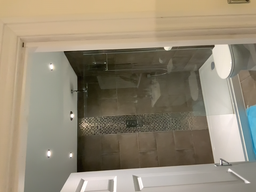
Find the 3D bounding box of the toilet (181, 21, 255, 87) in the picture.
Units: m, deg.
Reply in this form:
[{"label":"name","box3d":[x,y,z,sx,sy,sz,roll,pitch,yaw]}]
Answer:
[{"label":"toilet","box3d":[1.120,-0.500,2.580,0.370,0.770,0.670,99,168,-74]}]
